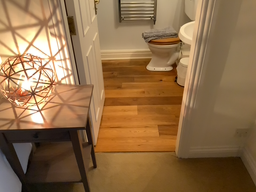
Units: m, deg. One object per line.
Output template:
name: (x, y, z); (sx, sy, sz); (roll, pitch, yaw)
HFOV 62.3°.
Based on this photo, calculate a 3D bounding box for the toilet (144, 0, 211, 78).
toilet: (0.520, -0.790, 2.540); (0.610, 1.000, 0.530); (-1, 35, 0)
